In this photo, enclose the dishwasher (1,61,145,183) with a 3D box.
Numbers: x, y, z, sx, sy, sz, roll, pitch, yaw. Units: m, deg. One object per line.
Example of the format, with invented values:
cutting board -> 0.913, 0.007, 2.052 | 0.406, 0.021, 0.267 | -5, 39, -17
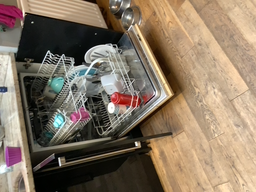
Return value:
dishwasher -> -0.490, 0.200, 1.760 | 0.700, 0.870, 0.600 | -49, 55, 42
